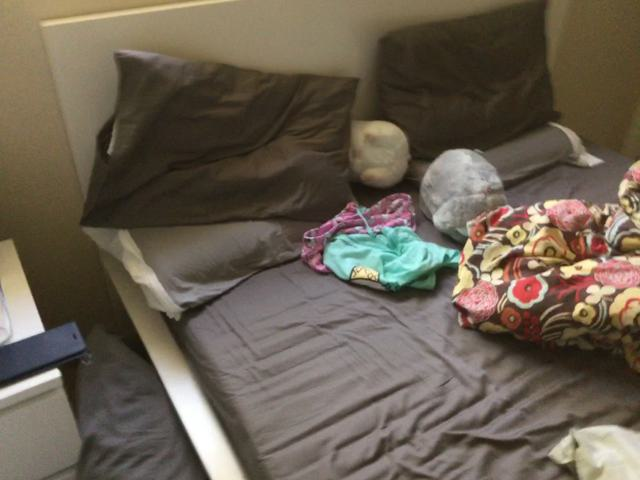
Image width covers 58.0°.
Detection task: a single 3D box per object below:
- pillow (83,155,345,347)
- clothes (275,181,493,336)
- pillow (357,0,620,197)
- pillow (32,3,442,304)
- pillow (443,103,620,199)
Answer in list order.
[{"bbox_3d":[-0.270,-0.010,1.440,0.510,0.120,0.440,-19,39,-22],"label":"pillow"},{"bbox_3d":[0.140,0.020,1.390,0.360,0.080,0.380,-19,39,-22],"label":"clothes"},{"bbox_3d":[0.490,-0.460,1.740,0.720,0.400,0.270,-19,39,-22],"label":"pillow"},{"bbox_3d":[-0.160,-0.250,1.420,0.860,0.450,0.310,-19,39,-22],"label":"pillow"},{"bbox_3d":[0.640,-0.280,1.750,0.500,0.100,0.200,-19,39,-22],"label":"pillow"}]
